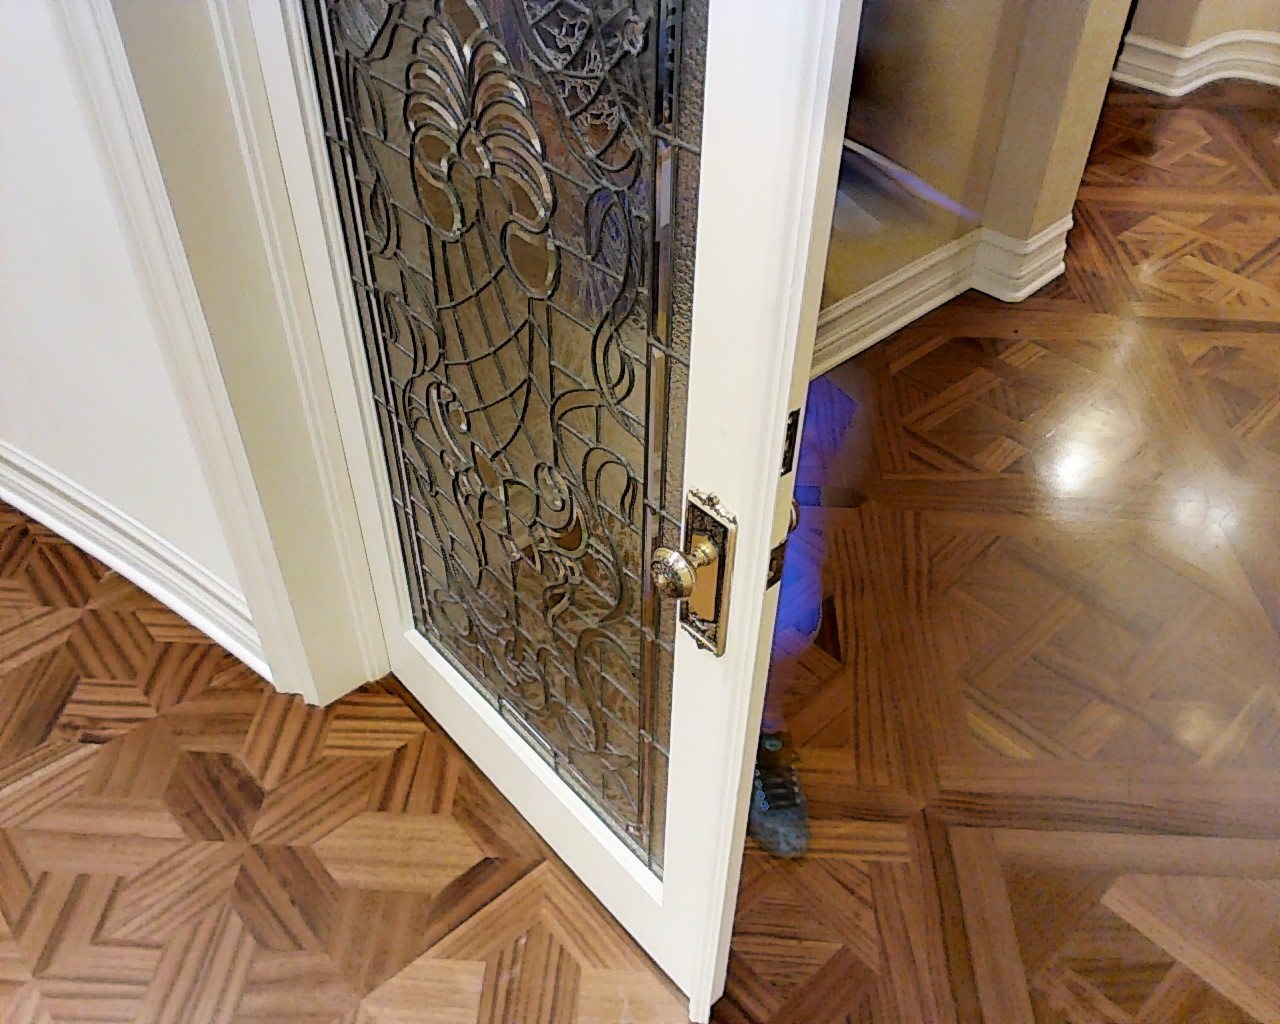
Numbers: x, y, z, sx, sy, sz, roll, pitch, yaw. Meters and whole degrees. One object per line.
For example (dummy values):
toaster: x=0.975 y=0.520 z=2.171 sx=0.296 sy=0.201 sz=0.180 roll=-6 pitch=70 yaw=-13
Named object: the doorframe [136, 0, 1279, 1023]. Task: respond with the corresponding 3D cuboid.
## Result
doorframe: x=0.110 y=-0.120 z=0.870 sx=0.170 sy=2.400 sz=1.850 roll=-32 pitch=51 yaw=-31
